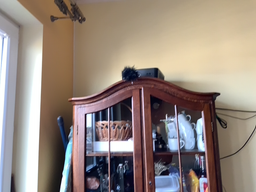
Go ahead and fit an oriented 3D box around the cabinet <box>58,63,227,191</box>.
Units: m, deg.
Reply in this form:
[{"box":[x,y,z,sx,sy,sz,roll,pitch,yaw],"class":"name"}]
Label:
[{"box":[0.080,0.420,1.330,0.870,1.110,0.460,-2,-9,7],"class":"cabinet"}]
